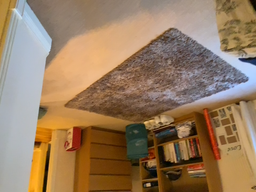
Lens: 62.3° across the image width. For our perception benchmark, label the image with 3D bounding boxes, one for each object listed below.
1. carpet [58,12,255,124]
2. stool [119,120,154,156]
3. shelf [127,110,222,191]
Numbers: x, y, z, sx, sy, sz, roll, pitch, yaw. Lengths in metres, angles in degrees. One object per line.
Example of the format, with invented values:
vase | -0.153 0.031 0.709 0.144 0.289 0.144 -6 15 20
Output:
carpet | 0.240 -0.050 2.390 1.340 0.080 1.780 18 148 -38
stool | 0.130 0.700 3.470 0.370 0.480 0.400 18 148 -37
shelf | 0.590 0.960 3.350 0.330 1.050 1.450 17 149 -37
